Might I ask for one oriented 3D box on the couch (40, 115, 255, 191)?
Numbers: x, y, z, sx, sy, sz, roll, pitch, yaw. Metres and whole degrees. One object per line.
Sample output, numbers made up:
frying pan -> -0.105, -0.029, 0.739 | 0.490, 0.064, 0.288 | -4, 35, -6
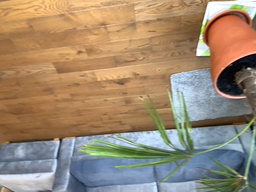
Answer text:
couch -> 0.330, 1.040, 2.540 | 2.290, 0.990, 1.090 | -5, 141, 5
